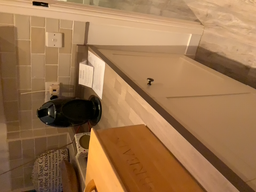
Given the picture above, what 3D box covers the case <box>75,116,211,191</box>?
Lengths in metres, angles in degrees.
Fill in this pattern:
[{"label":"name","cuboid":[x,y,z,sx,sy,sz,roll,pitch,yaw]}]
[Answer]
[{"label":"case","cuboid":[0.000,0.290,0.660,0.340,0.230,0.300,48,134,51]}]
